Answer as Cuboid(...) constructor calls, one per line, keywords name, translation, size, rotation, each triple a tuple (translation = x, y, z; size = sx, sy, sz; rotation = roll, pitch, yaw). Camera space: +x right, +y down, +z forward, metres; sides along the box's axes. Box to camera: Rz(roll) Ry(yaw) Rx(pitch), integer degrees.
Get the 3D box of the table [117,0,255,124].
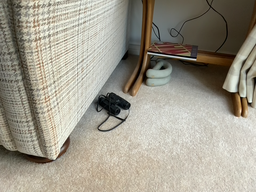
Cuboid(name="table", translation=(0.300, -0.280, 1.010), size=(0.570, 0.480, 0.570), rotation=(9, 34, 9))
